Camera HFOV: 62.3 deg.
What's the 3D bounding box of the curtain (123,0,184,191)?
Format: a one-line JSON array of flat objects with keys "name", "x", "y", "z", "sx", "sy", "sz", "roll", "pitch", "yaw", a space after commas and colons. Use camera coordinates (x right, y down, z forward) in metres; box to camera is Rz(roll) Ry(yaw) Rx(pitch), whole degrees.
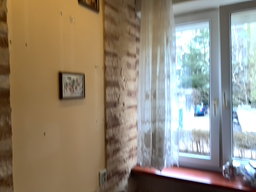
[{"name": "curtain", "x": 0.240, "y": 0.230, "z": 1.890, "sx": 0.430, "sy": 2.750, "sz": 0.360, "roll": 1, "pitch": 3, "yaw": 26}]
